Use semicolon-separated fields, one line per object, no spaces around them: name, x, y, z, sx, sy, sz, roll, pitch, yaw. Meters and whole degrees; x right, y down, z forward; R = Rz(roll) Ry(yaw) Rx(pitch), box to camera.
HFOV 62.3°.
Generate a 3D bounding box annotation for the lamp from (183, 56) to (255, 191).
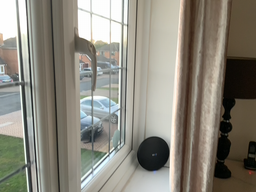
lamp;0.560;0.130;1.290;0.330;0.720;0.440;6;12;21
